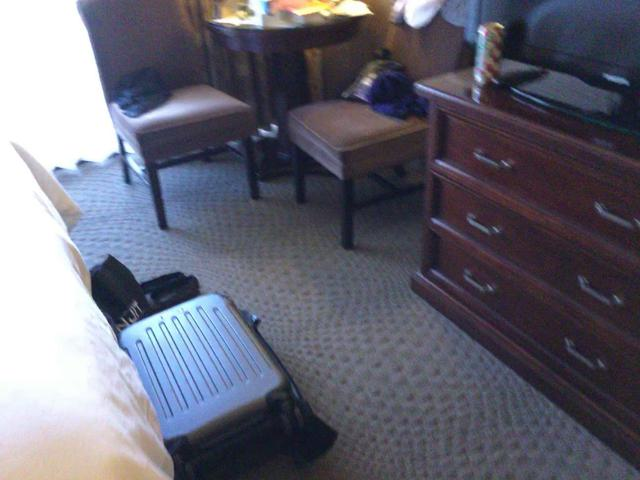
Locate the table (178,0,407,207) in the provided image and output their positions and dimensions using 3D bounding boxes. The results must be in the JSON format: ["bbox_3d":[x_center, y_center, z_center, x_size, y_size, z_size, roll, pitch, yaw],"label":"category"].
[{"bbox_3d":[-0.130,-0.780,2.920,0.790,0.810,0.800,-20,33,-26],"label":"table"}]
